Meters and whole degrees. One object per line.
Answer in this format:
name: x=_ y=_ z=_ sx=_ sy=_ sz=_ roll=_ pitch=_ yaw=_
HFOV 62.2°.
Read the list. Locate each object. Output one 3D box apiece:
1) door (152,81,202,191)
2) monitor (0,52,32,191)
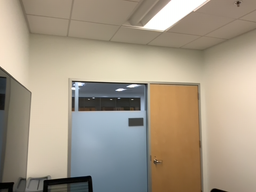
door: x=0.810 y=0.910 z=3.480 sx=0.890 sy=2.290 sz=0.060 roll=1 pitch=-2 yaw=-20
monitor: x=-0.590 y=0.300 z=1.090 sx=0.070 sy=0.850 sz=1.440 roll=-1 pitch=-1 yaw=-21
